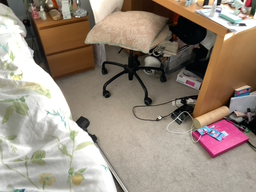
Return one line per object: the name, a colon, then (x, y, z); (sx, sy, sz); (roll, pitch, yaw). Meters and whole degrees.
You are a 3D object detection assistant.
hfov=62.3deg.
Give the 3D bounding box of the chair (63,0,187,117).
chair: (0.000, -0.500, 1.590); (0.650, 1.010, 0.590); (21, 44, 19)
